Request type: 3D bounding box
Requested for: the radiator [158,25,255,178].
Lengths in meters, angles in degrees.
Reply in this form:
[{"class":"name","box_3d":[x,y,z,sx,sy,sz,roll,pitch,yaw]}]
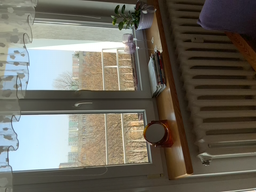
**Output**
[{"class":"radiator","box_3d":[0.680,0.000,1.670,0.390,0.610,1.110,109,157,-57]}]
